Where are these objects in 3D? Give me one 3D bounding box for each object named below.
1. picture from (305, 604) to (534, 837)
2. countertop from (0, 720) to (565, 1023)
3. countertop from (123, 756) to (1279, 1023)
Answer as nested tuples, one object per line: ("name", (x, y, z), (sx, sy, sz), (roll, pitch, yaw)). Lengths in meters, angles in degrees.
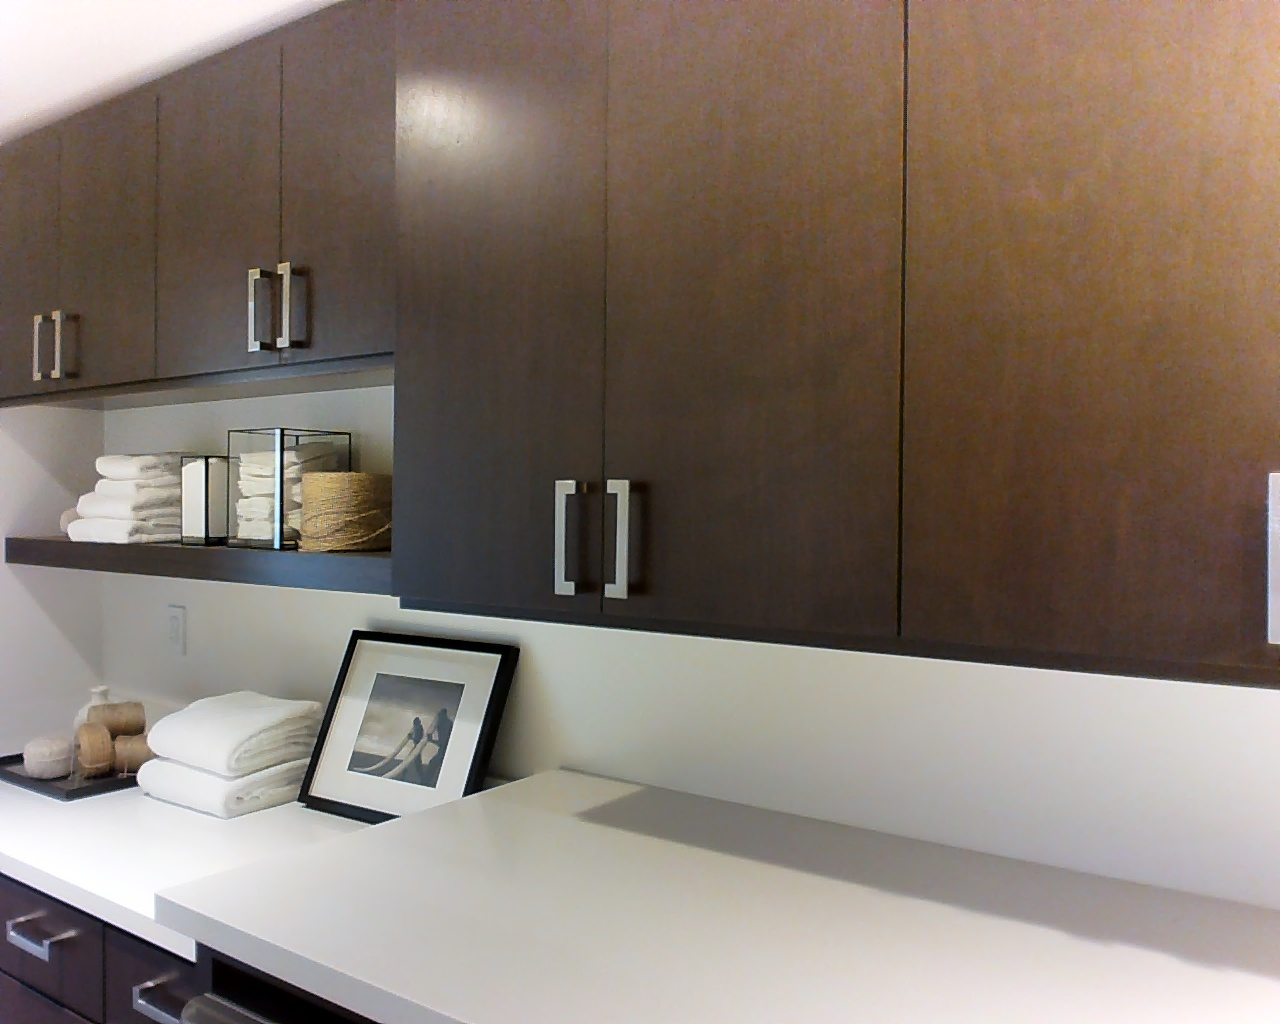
("picture", (-0.440, 0.410, 2.080), (0.460, 0.340, 0.090), (-24, -14, 34))
("countertop", (-0.980, 0.630, 2.150), (1.630, 0.120, 0.640), (1, 0, 37))
("countertop", (0.290, 0.520, 1.130), (1.730, 0.130, 0.790), (1, 0, 37))
